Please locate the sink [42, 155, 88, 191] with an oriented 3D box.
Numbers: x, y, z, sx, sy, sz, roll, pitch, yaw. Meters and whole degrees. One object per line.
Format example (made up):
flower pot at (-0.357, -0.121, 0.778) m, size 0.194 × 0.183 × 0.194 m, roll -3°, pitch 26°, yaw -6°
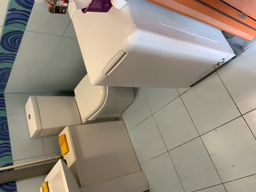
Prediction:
sink at (-0.440, 0.790, 1.550) m, size 0.430 × 0.140 × 0.570 m, roll -40°, pitch 62°, yaw 42°
